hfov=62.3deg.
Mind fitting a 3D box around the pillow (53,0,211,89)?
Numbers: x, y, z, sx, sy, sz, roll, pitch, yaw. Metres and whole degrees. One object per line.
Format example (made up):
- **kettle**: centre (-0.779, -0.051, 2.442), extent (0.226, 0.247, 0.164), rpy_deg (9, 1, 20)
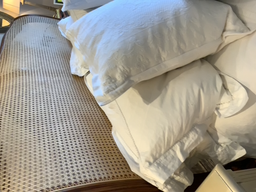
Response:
- **pillow**: centre (0.020, -0.350, 0.910), extent (0.670, 0.410, 0.240), rpy_deg (-82, 11, -59)
